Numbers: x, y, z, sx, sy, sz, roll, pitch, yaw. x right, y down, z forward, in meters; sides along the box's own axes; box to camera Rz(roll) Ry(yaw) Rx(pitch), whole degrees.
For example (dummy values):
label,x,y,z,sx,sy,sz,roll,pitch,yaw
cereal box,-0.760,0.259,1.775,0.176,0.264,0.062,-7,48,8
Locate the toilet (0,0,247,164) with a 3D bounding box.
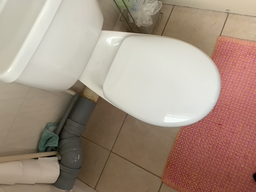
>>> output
label,x,y,z,sx,sy,sz,roll,pitch,yaw
toilet,0.010,-0.120,0.920,0.720,0.770,0.510,20,83,24
